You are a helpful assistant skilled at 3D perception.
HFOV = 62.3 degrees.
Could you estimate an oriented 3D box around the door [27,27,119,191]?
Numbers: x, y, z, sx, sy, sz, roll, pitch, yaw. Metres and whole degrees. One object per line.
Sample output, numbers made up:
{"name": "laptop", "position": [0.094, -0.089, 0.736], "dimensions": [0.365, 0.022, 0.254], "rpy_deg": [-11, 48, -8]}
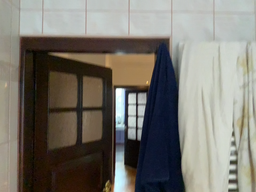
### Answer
{"name": "door", "position": [-0.360, 0.670, 1.580], "dimensions": [0.130, 2.150, 0.730], "rpy_deg": [0, -1, 38]}
